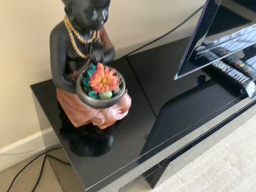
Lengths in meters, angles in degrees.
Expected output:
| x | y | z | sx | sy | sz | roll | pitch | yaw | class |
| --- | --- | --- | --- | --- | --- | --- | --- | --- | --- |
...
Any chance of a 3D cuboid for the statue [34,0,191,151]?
| x | y | z | sx | sy | sz | roll | pitch | yaw | class |
| --- | --- | --- | --- | --- | --- | --- | --- | --- | --- |
| -0.070 | -0.100 | 0.480 | 0.180 | 0.320 | 0.270 | -19 | 54 | -26 | statue |
